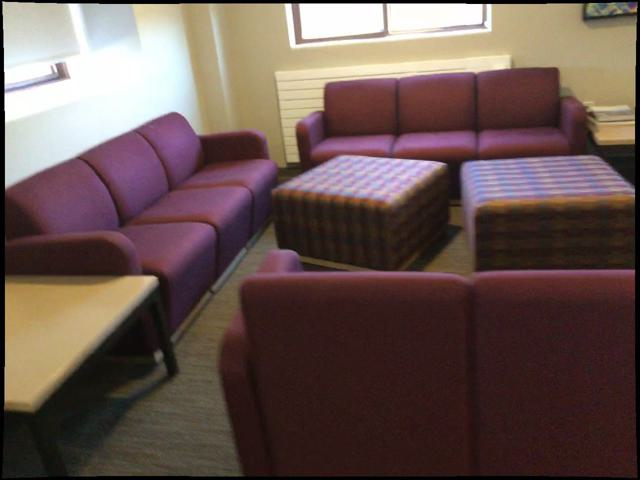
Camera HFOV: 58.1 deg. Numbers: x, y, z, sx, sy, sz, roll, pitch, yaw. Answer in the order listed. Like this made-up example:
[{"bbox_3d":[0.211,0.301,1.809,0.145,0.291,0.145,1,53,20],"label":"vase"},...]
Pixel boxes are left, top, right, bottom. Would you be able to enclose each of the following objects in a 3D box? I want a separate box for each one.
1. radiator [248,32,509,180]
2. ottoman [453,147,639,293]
[{"bbox_3d":[0.439,-0.983,4.430,1.905,0.992,0.120,0,25,14],"label":"radiator"},{"bbox_3d":[1.137,-0.130,3.030,0.838,0.461,0.810,-1,25,14],"label":"ottoman"}]
